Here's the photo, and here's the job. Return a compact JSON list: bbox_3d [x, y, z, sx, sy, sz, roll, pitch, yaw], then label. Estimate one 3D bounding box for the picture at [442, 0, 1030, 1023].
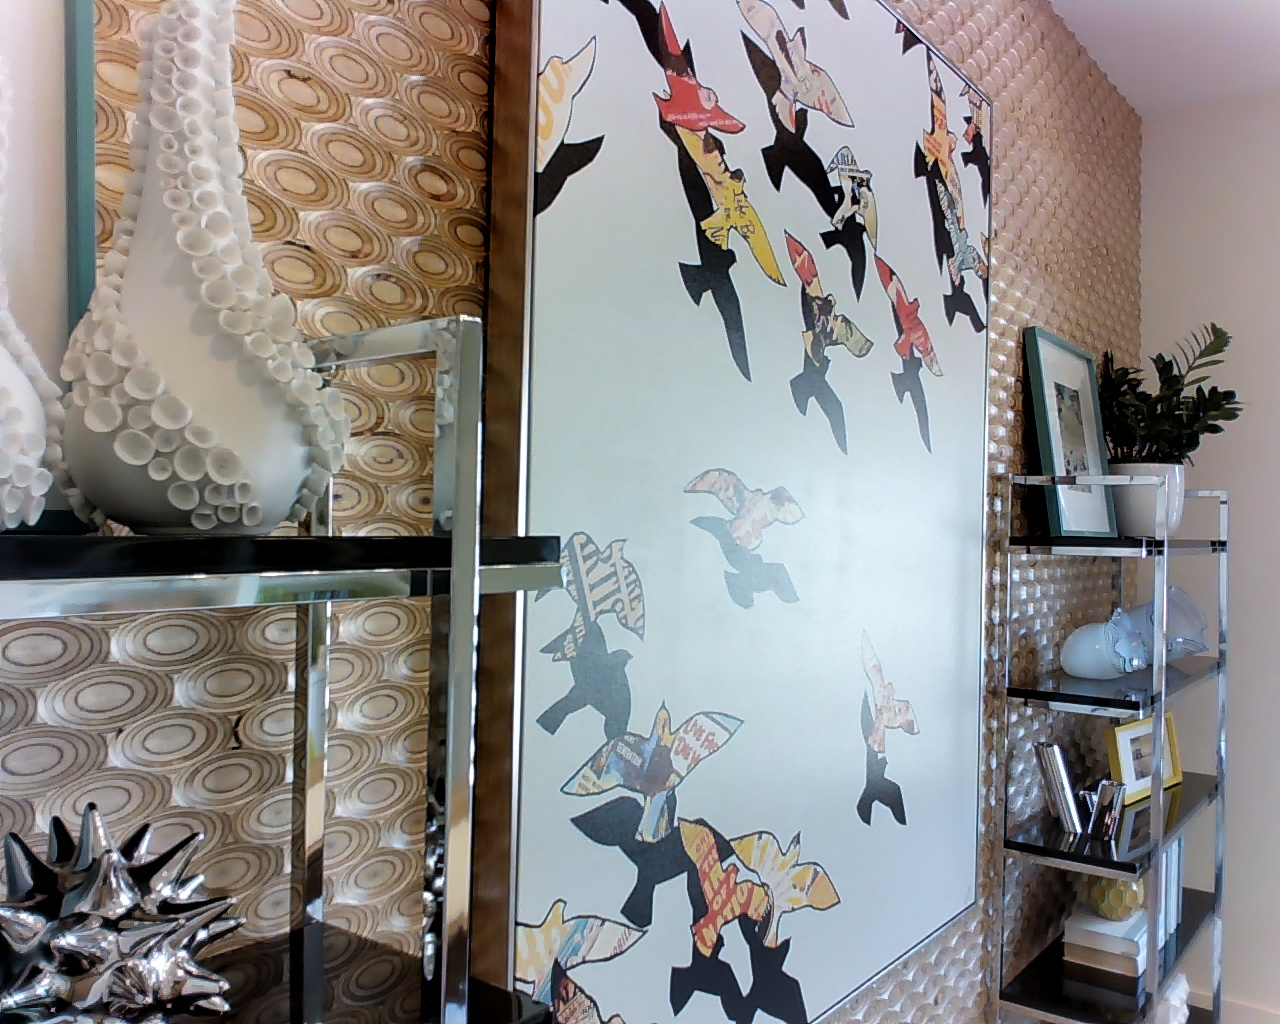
[{"bbox_3d":[0.280,-0.020,1.550,0.090,1.581,1.380,0,-1,39],"label":"picture"}]
